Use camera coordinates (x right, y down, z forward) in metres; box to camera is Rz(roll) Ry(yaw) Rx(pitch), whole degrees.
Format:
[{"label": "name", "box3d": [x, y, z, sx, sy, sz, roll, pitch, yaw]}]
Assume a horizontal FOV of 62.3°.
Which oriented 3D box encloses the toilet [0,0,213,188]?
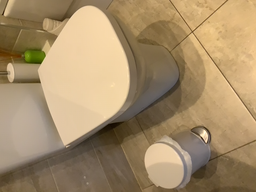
[{"label": "toilet", "box3d": [-0.200, -0.010, 0.810, 0.650, 0.820, 0.380, -39, 70, 36]}]
